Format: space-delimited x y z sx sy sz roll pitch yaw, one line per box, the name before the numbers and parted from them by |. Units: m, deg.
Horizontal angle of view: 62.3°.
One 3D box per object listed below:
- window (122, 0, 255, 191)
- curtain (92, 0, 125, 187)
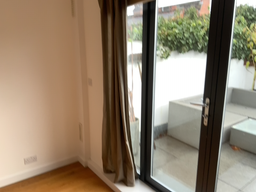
window | 0.530 0.130 1.780 0.070 1.960 1.900 -10 17 -36
curtain | -0.210 -0.040 2.330 0.070 2.060 0.520 -10 17 -35
